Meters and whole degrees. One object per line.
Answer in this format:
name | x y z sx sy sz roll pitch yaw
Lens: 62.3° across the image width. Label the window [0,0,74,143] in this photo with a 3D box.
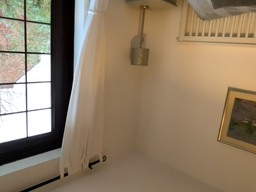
window | -0.860 -0.310 1.730 0.100 1.350 0.860 17 -163 42
